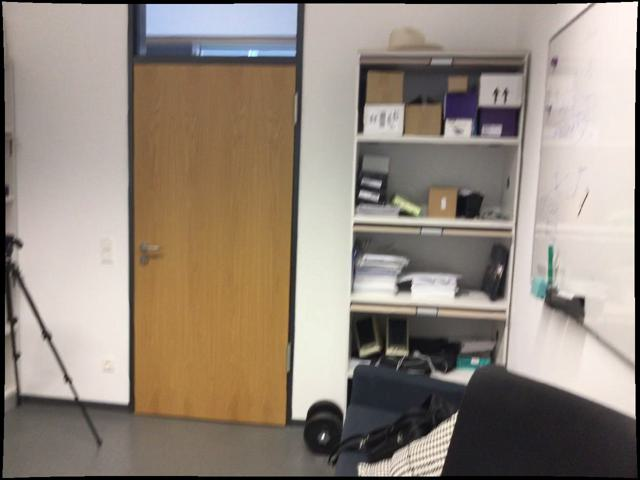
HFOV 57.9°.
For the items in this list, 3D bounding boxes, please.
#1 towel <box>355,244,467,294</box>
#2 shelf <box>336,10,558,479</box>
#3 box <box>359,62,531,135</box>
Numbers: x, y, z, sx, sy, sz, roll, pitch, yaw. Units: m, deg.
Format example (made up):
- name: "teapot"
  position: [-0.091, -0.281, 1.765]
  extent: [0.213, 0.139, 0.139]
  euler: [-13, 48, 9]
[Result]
- name: "towel"
  position: [0.460, 0.140, 2.950]
  extent: [0.529, 0.180, 0.280]
  euler: [3, 8, 8]
- name: "shelf"
  position: [0.589, 0.040, 2.950]
  extent: [0.899, 2.182, 0.520]
  euler: [3, 8, 8]
- name: "box"
  position: [0.569, -0.661, 2.700]
  extent: [0.759, 0.320, 0.080]
  euler: [3, 8, 8]
